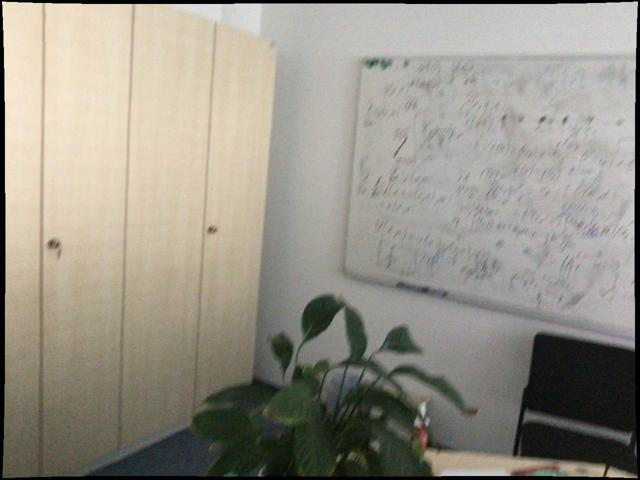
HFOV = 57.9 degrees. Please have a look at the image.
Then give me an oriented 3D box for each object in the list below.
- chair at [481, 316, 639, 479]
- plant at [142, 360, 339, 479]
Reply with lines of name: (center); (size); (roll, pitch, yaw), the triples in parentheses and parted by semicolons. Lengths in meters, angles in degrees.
chair: (0.979, 0.821, 2.260); (0.550, 0.821, 0.620); (8, 12, 27)
plant: (-0.160, 0.501, 1.200); (0.260, 0.370, 0.300); (10, 13, 33)
